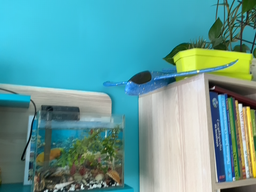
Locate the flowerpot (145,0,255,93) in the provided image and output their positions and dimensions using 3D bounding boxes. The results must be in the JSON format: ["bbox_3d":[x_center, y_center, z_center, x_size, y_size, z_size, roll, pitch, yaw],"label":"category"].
[{"bbox_3d":[0.340,-0.250,0.890,0.380,0.390,0.420,5,-10,-23],"label":"flowerpot"}]
